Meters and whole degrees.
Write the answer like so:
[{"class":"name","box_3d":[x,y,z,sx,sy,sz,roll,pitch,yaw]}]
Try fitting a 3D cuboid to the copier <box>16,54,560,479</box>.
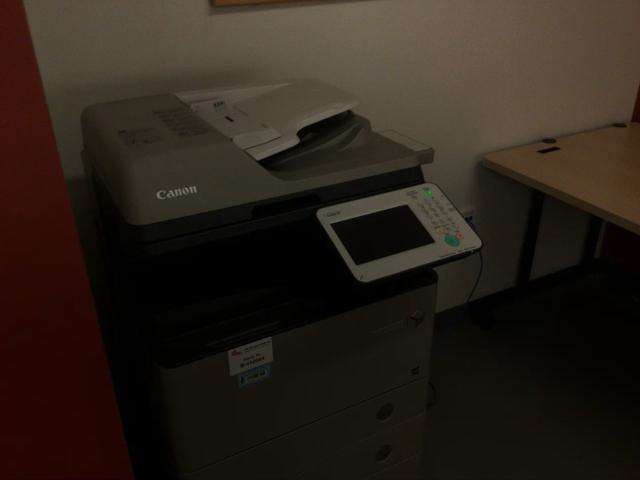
[{"class":"copier","box_3d":[-0.100,0.230,1.250,0.740,1.060,0.670,-14,30,-23]}]
